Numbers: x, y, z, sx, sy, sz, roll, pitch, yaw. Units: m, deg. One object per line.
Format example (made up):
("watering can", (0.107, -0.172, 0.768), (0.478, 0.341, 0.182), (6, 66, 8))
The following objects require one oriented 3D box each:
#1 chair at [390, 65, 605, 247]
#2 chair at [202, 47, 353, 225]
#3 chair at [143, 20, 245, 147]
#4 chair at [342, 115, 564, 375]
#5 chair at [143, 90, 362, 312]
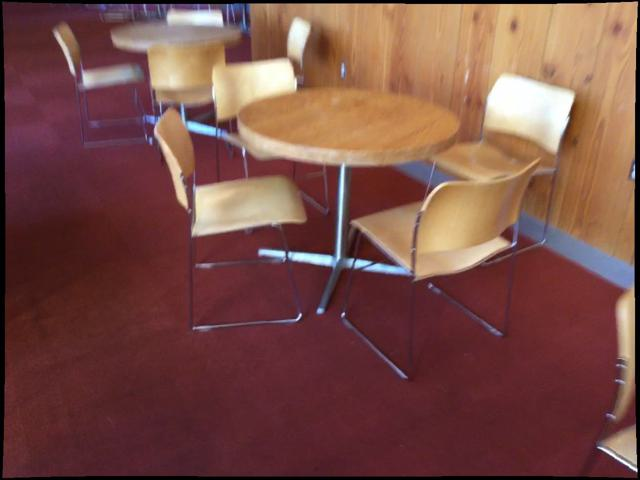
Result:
("chair", (0.839, -0.450, 2.850), (0.740, 0.610, 0.580), (-16, 34, -28))
("chair", (-0.230, -0.571, 3.020), (0.510, 0.691, 0.610), (-17, 34, -28))
("chair", (-0.819, -1.031, 3.750), (0.540, 0.640, 0.600), (-7, 31, -15))
("chair", (0.440, -0.010, 2.110), (0.500, 0.701, 0.500), (-16, 34, -28))
("chair", (-0.280, -0.190, 2.340), (0.729, 0.650, 0.600), (-5, 30, -11))
